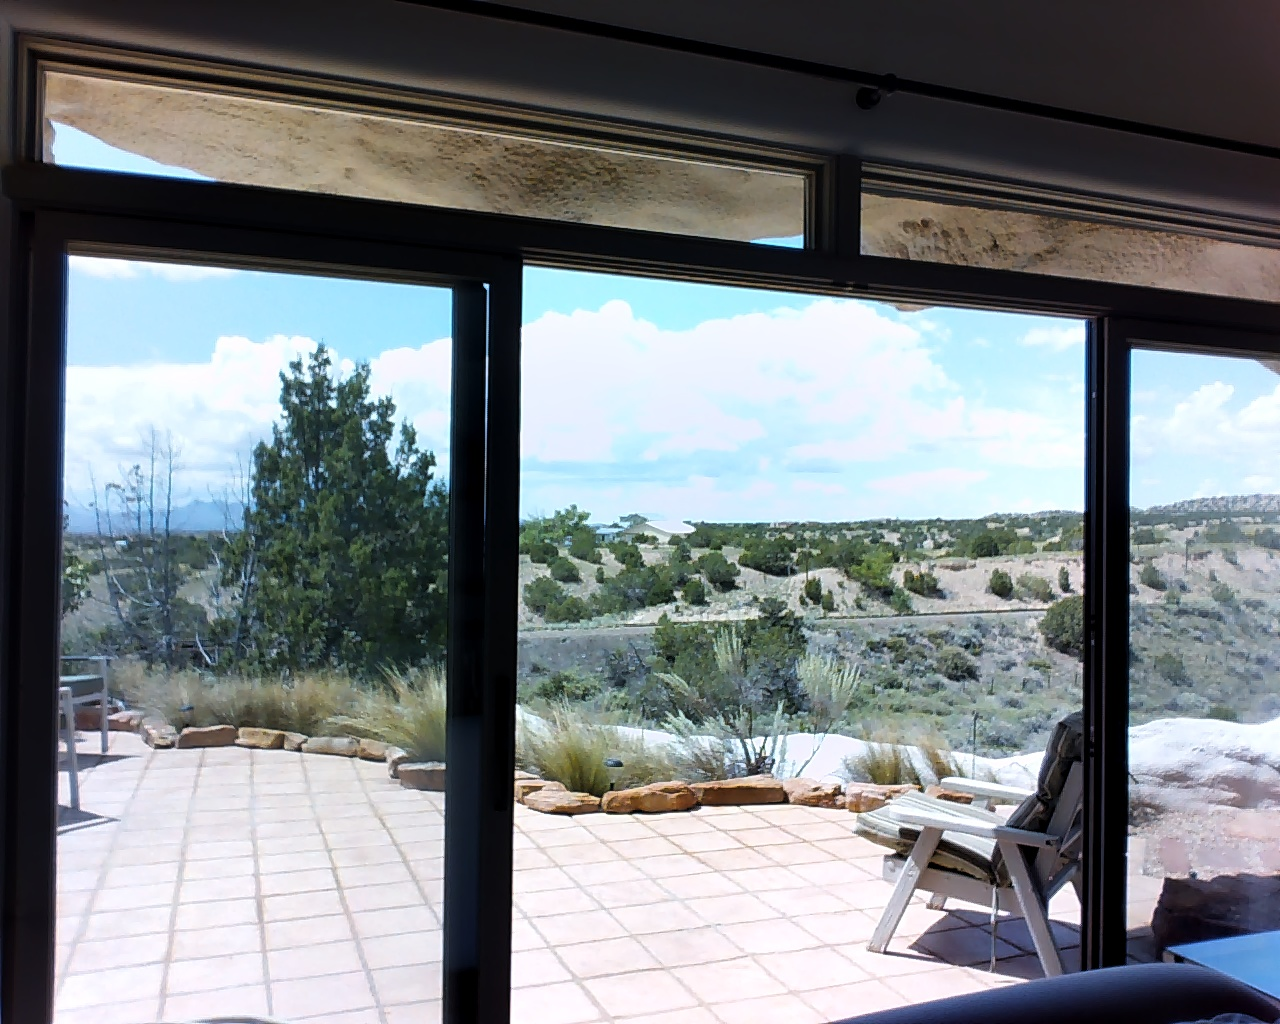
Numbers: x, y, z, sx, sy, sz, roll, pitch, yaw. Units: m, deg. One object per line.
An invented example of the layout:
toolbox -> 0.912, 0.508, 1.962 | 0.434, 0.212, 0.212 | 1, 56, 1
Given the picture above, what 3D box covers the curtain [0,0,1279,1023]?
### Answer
curtain -> 0.590, 0.200, 2.420 | 4.559, 2.551, 0.380 | 1, -1, -21
